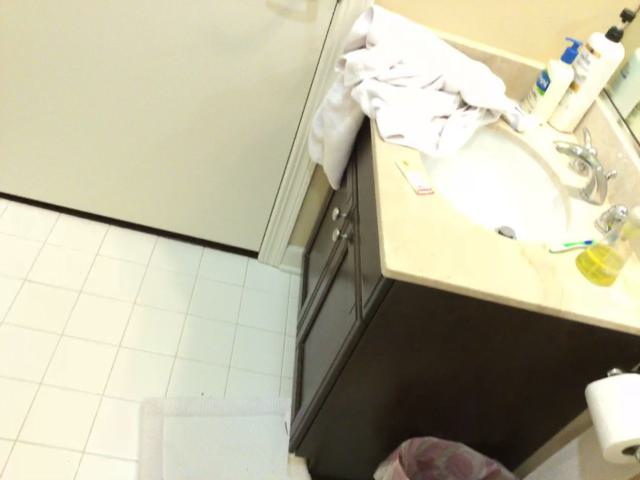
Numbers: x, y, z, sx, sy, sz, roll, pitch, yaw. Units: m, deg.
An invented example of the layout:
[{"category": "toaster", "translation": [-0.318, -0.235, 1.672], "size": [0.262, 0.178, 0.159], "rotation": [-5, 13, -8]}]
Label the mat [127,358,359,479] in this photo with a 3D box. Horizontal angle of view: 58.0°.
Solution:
[{"category": "mat", "translation": [-0.170, 0.610, 1.320], "size": [0.530, 0.110, 0.670], "rotation": [9, 43, -17]}]

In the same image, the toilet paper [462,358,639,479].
[{"category": "toilet paper", "translation": [0.450, 0.500, 1.180], "size": [0.150, 0.670, 0.140], "rotation": [15, 42, -11]}]
